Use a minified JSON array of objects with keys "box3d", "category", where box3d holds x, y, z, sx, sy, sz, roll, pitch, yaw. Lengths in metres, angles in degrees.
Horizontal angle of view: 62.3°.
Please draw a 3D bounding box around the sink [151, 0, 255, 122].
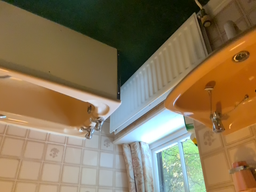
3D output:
[{"box3d":[0.420,-0.140,0.750,0.430,0.190,0.540,15,144,-26],"category":"sink"}]
